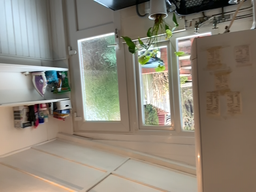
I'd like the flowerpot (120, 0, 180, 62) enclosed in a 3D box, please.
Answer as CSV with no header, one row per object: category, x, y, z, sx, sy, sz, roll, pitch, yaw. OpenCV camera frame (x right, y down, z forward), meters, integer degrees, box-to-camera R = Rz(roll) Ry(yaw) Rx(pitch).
flowerpot,0.210,-0.570,1.840,0.350,0.490,0.430,-2,-177,29
